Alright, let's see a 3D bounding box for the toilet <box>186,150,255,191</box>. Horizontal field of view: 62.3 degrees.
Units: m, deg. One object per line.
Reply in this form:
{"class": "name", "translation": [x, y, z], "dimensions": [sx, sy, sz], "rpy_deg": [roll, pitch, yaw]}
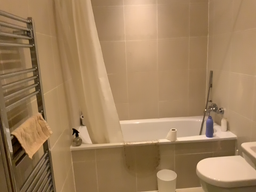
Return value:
{"class": "toilet", "translation": [0.840, 0.800, 1.800], "dimensions": [0.570, 0.500, 0.400], "rpy_deg": [-3, 12, -4]}

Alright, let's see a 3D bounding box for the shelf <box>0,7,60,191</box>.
{"class": "shelf", "translation": [-0.470, 0.300, 0.930], "dimensions": [0.170, 1.230, 0.470], "rpy_deg": [-4, 12, -5]}
